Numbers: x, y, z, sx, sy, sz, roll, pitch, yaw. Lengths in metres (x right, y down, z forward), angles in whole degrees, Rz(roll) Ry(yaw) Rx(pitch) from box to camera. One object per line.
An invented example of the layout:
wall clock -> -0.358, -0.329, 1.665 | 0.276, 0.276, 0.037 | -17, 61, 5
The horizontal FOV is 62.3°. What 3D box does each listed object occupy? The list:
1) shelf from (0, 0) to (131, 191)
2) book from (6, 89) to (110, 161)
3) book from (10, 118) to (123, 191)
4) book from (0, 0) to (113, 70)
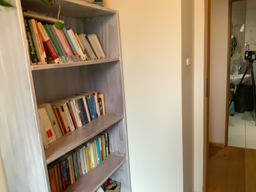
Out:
shelf -> -0.360, 0.320, 1.470 | 0.360, 1.820, 0.850 | 4, 14, 28
book -> -0.430, 0.150, 1.500 | 0.250, 0.260, 0.700 | 3, 14, 27
book -> -0.350, 0.470, 1.520 | 0.280, 0.360, 0.820 | 2, 13, 24
book -> -0.430, -0.370, 1.370 | 0.350, 0.340, 0.630 | 4, 14, 29
